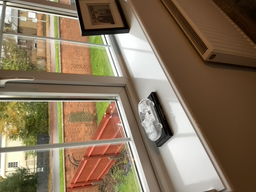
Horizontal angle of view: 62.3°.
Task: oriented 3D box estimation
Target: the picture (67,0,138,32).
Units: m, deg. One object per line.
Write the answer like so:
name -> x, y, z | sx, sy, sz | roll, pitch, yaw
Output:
picture -> -0.150, -0.470, 1.120 | 0.350, 0.240, 0.080 | 52, 135, 29
